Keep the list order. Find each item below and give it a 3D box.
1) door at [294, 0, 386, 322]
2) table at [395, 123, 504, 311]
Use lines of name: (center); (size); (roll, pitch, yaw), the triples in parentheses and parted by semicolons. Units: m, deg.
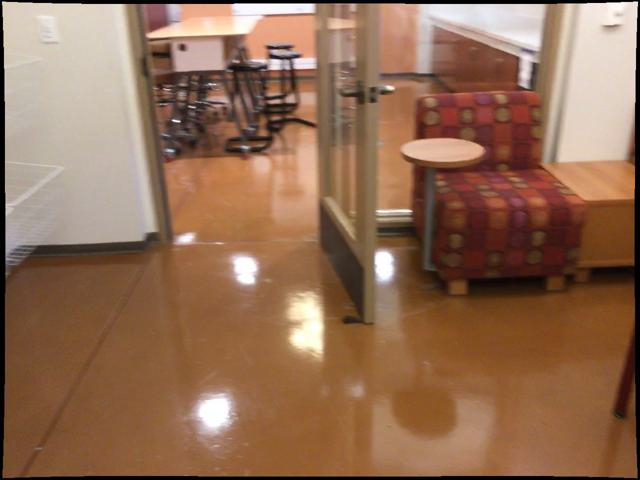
door: (0.060, -0.591, 2.460); (0.130, 1.581, 0.980); (-7, 26, -10)
table: (0.519, -0.100, 2.450); (0.340, 0.701, 0.350); (-2, 25, 0)
